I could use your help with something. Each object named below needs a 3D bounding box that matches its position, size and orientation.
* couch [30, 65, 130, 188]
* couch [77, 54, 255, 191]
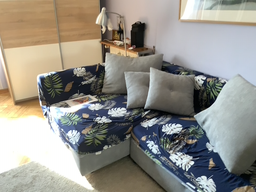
[{"bbox_3d":[-0.510,0.190,2.110,0.520,0.680,1.070,-16,29,-32],"label":"couch"},{"bbox_3d":[0.540,0.260,1.980,1.030,0.690,2.510,-16,29,-32],"label":"couch"}]
